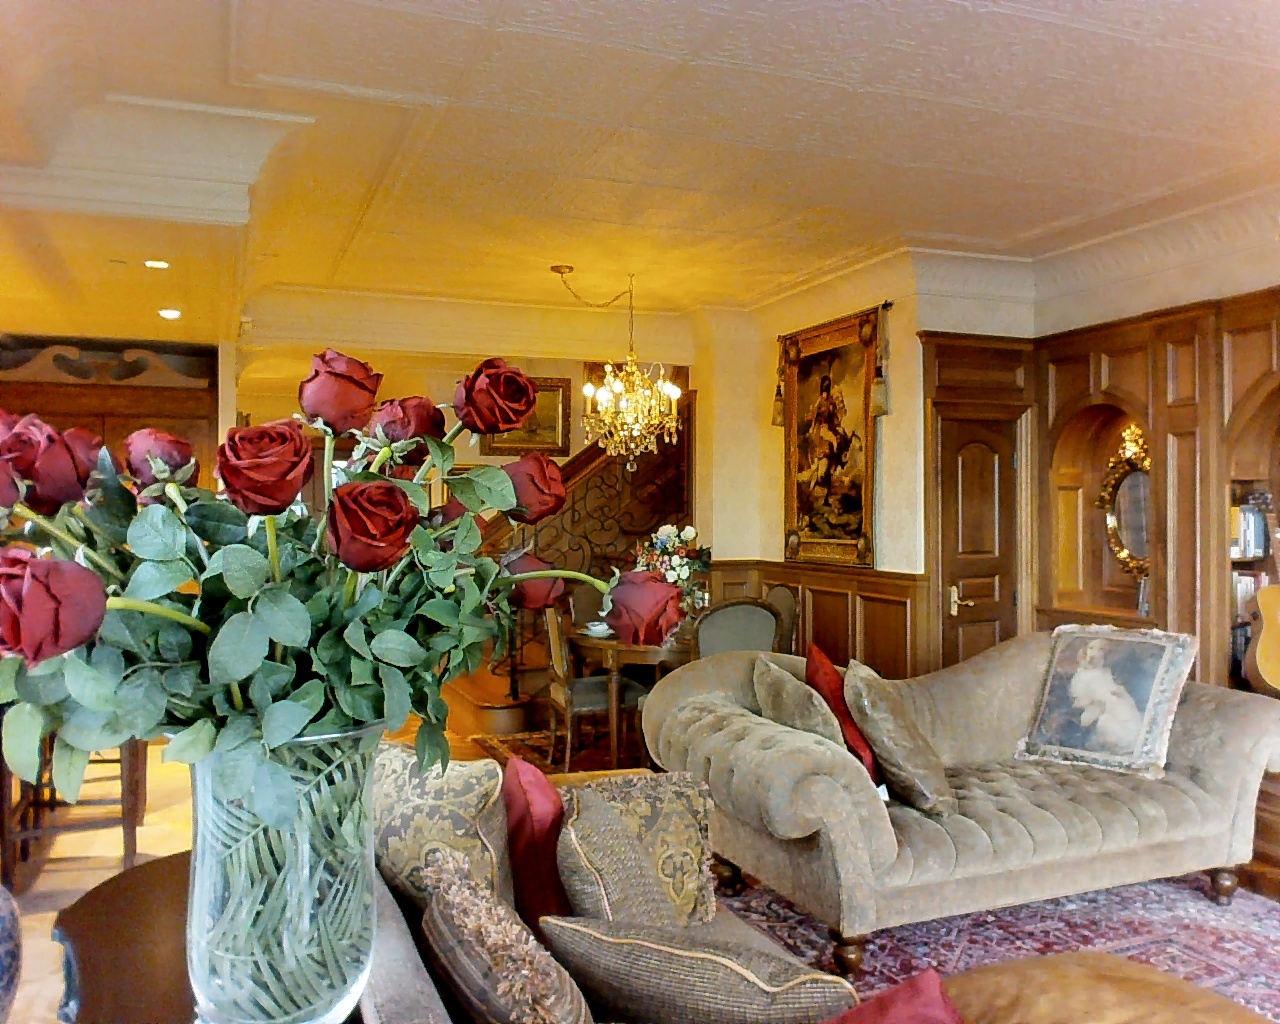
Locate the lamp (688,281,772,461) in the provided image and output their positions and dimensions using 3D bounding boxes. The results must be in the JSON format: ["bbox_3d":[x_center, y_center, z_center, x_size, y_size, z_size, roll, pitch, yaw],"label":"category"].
[{"bbox_3d":[0.620,-0.960,7.550,0.300,1.160,0.730,0,0,-21],"label":"lamp"}]
